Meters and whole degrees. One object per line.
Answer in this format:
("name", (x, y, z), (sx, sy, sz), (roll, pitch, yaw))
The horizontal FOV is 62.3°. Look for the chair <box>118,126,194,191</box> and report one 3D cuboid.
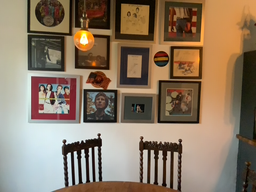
("chair", (0.230, 0.850, 1.890), (0.430, 1.040, 0.490), (-3, 7, -41))
